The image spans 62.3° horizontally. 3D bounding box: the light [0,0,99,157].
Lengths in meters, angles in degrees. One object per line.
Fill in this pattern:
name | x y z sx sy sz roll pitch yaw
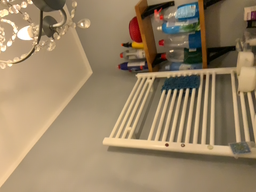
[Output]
light | -0.500 -0.310 0.810 0.460 0.590 0.880 -10 -138 14
